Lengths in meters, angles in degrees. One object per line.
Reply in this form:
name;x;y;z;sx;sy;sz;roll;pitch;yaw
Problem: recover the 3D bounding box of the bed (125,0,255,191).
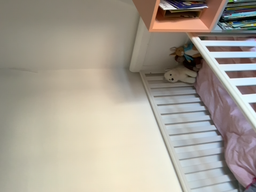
bed;0.760;0.020;1.420;0.610;1.190;1.540;104;157;-47
